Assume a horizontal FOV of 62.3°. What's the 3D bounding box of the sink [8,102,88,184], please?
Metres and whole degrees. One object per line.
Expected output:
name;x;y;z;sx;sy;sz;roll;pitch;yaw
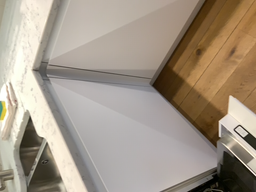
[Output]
sink;-0.380;0.210;0.990;0.180;0.230;0.320;51;122;35

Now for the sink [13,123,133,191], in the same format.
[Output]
sink;-0.240;0.390;0.830;0.370;0.230;0.410;51;122;35
